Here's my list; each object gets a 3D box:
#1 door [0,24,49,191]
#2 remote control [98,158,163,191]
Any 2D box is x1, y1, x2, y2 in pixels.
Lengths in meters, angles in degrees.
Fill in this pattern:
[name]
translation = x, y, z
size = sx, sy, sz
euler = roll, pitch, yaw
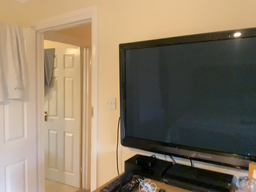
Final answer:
[door]
translation = -1.050, 0.400, 1.780
size = 0.040, 1.960, 0.940
euler = 3, 4, 26
[remote control]
translation = 0.030, 0.410, 1.090
size = 0.170, 0.050, 0.360
euler = 3, 4, 33
